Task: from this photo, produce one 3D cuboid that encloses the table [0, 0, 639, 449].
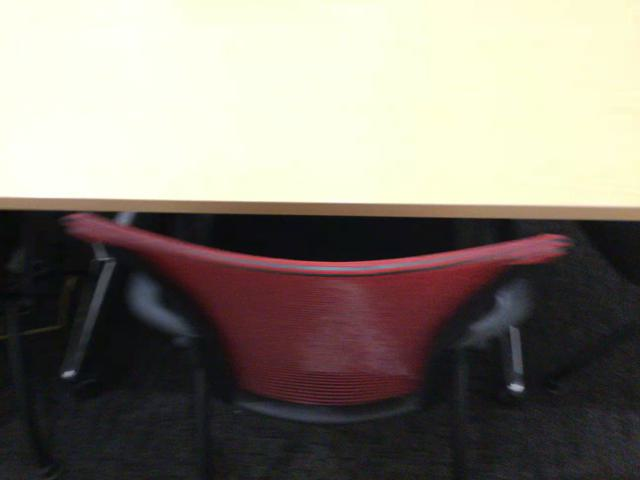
[{"bbox_3d":[-0.810,-0.110,1.320,2.990,0.760,0.860,-1,49,4],"label":"table"}]
